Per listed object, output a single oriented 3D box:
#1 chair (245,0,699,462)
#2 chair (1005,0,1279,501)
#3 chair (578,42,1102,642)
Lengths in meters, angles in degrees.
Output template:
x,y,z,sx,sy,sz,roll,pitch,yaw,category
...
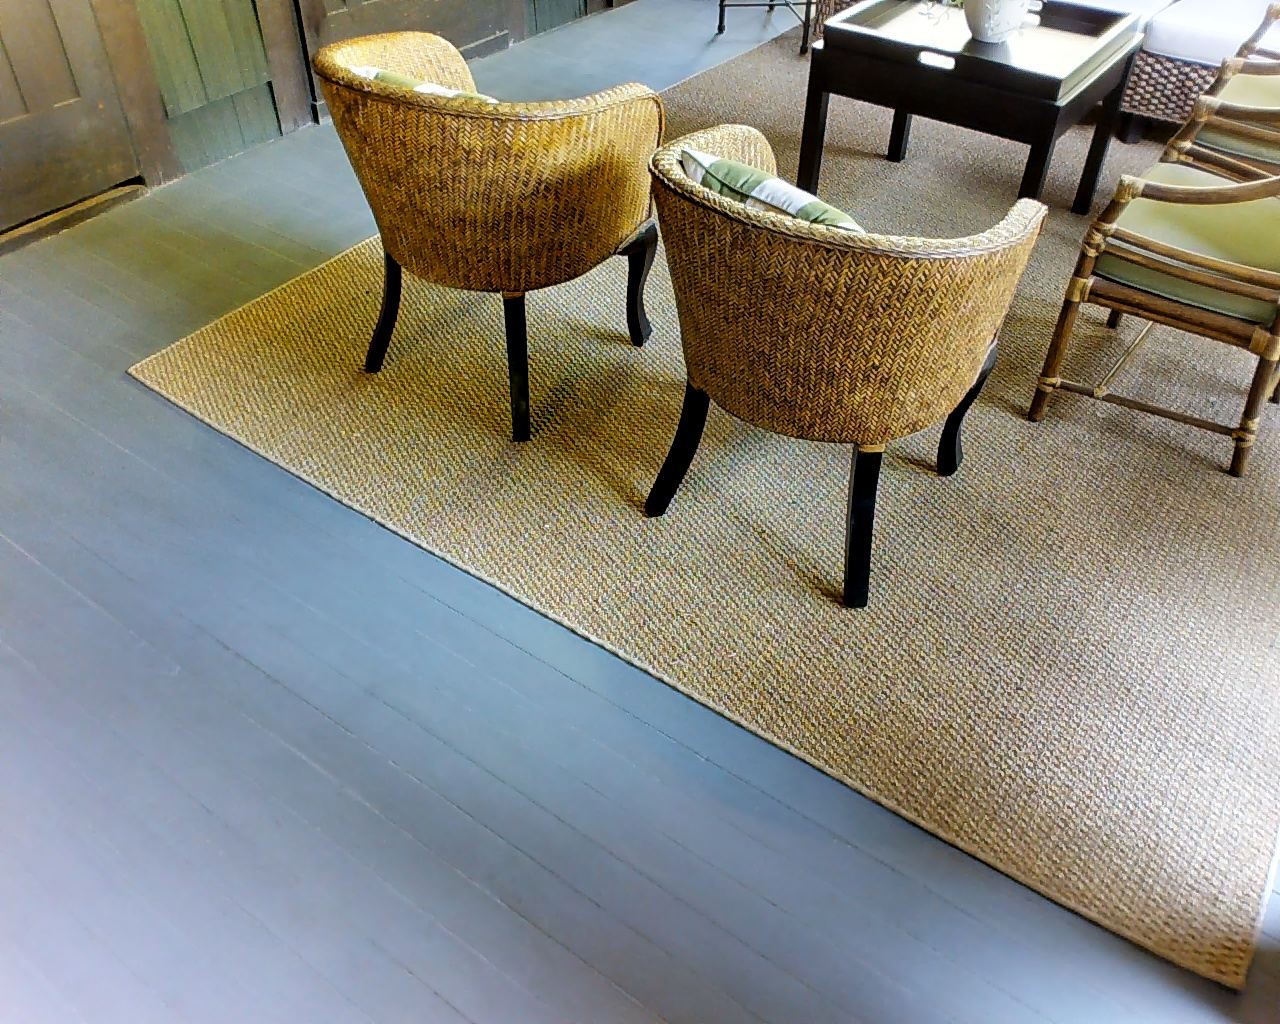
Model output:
x,y,z,sx,sy,sz,roll,pitch,yaw,category
-0.350,-0.720,2.530,0.690,0.790,0.650,27,48,26,chair
1.360,-0.680,2.400,0.630,0.920,0.700,26,48,25,chair
0.360,-0.360,2.140,0.690,0.800,0.660,24,47,24,chair
